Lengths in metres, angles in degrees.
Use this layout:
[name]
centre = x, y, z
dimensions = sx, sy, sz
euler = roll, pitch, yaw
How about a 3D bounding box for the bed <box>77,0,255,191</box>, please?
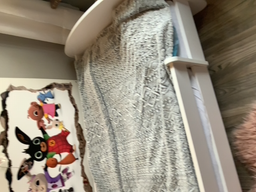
[bed]
centre = 0.210, 0.340, 1.320
dimensions = 0.880, 0.450, 1.730
euler = -24, 73, 48
